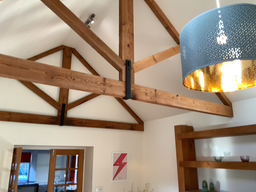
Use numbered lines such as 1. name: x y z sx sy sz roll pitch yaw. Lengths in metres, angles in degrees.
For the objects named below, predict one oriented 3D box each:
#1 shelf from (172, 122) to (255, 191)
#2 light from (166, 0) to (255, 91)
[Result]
1. shelf: 1.560 1.580 3.090 0.430 2.240 1.910 10 -19 -34
2. light: 0.690 -1.020 1.570 0.630 1.810 0.560 8 -18 -29
